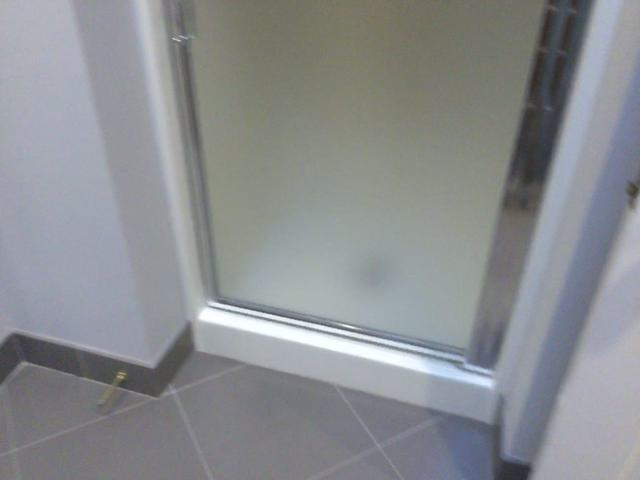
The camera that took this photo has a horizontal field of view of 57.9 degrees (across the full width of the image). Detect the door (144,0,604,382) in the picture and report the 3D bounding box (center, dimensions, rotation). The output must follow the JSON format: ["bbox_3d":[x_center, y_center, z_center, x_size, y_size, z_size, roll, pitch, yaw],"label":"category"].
[{"bbox_3d":[0.070,-0.390,1.100,0.810,1.570,0.110,9,35,10],"label":"door"}]

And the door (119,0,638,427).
[{"bbox_3d":[0.090,-0.430,1.150,0.880,1.810,0.320,9,35,10],"label":"door"}]
